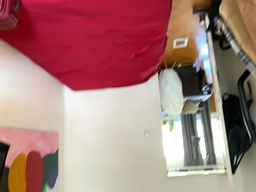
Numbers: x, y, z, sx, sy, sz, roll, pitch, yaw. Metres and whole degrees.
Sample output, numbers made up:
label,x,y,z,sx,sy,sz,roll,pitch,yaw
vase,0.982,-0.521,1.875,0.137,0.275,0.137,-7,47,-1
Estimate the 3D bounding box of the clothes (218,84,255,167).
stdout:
label,x,y,z,sx,sy,sz,roll,pitch,yaw
clothes,1.300,0.360,2.530,0.250,0.800,0.880,-7,168,17
